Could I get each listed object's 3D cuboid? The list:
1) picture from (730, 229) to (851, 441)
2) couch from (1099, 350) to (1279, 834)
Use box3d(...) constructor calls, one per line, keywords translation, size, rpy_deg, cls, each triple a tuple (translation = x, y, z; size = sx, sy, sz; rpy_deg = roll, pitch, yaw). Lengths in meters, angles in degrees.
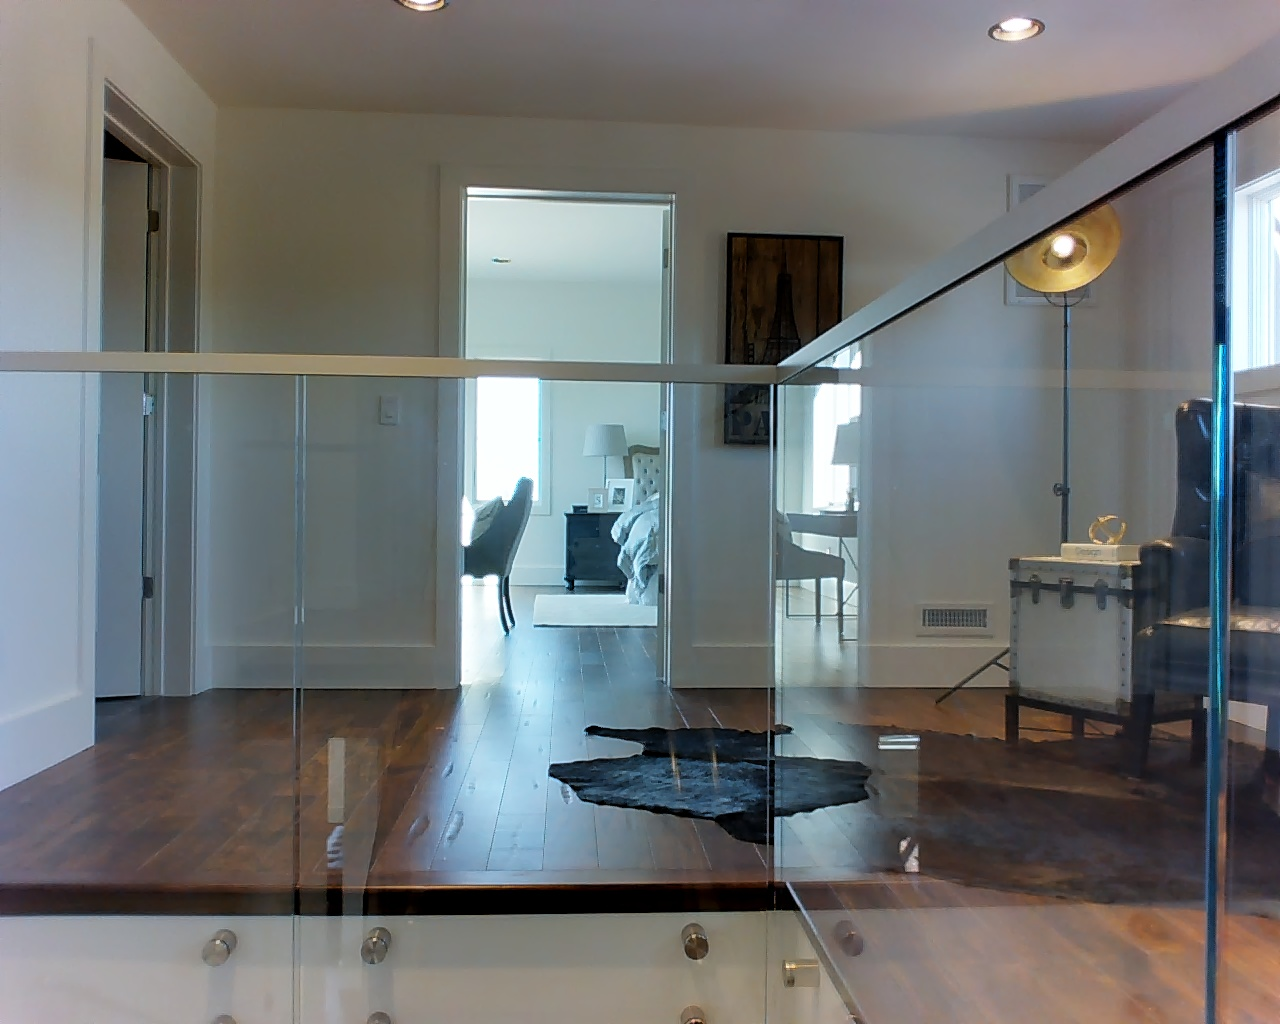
box3d(translation=(0.660, -0.770, 4.700), size=(0.520, 0.910, 0.040), rpy_deg=(1, 0, -4), cls="picture")
box3d(translation=(1.840, 0.200, 2.910), size=(0.700, 1.200, 0.840), rpy_deg=(1, 0, -34), cls="couch")
